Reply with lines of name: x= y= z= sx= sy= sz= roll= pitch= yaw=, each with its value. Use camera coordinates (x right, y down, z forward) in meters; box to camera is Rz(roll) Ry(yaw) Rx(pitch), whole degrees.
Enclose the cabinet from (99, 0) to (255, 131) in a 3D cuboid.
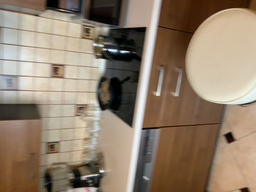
cabinet: x=0.360 y=-0.410 z=1.580 sx=0.580 sy=0.870 sz=1.140 roll=29 pitch=114 yaw=58
